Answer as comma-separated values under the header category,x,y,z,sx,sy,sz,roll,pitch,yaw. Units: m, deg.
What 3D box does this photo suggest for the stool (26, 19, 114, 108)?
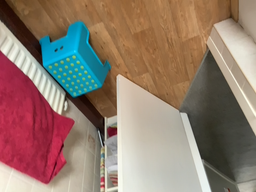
category,x,y,z,sx,sy,sz,roll,pitch,yaw
stool,-0.360,-0.200,1.460,0.360,0.260,0.460,-18,135,14
